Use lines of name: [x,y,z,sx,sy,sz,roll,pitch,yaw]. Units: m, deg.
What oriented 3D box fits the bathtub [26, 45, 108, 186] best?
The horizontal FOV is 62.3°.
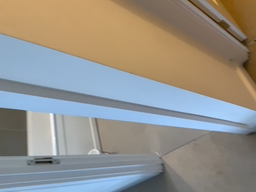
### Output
bathtub: [-0.840,0.230,2.690,0.710,0.590,1.490,-38,55,36]
